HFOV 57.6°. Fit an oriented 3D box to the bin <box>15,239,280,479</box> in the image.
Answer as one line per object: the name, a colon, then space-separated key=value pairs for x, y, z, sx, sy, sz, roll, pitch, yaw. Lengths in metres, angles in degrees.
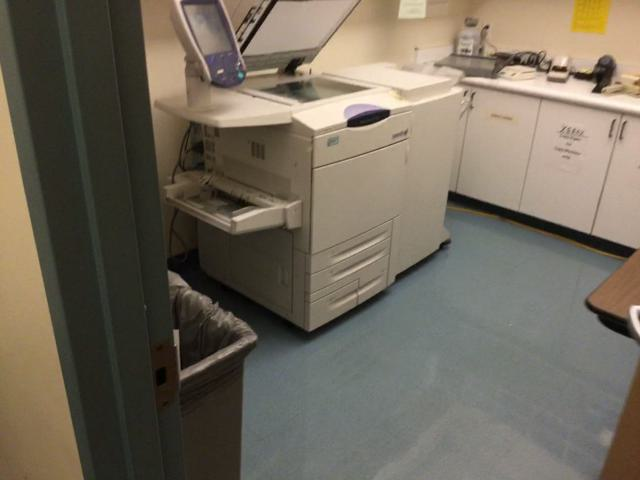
bin: x=-0.390 y=0.340 z=1.360 sx=0.510 sy=0.460 sz=0.320 roll=25 pitch=37 yaw=37

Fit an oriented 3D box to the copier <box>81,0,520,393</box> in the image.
copier: x=0.020 y=-0.500 z=2.660 sx=0.900 sy=1.470 sz=1.660 roll=24 pitch=36 yaw=37
